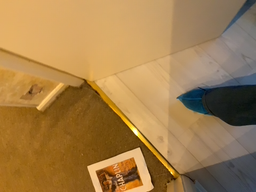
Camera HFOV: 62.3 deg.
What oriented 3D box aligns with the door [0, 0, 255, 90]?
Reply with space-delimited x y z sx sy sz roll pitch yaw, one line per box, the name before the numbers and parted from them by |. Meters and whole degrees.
door | -0.060 -0.230 0.140 0.770 2.000 0.050 -19 84 8
